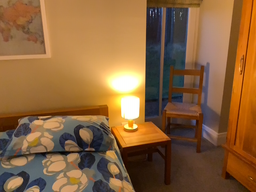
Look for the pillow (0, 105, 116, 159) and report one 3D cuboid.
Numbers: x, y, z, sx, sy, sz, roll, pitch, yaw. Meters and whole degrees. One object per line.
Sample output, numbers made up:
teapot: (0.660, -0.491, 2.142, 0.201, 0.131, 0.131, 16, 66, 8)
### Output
pillow: (-0.510, 0.240, 1.600, 0.760, 0.160, 0.400, -5, 17, -16)
